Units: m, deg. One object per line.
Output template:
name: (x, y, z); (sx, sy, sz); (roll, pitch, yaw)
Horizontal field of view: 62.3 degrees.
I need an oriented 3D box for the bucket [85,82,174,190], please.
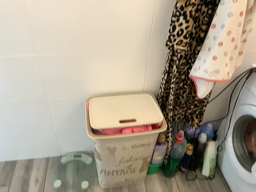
bucket: (-0.030, 0.280, 1.410); (0.450, 0.650, 0.320); (-4, 41, -11)
